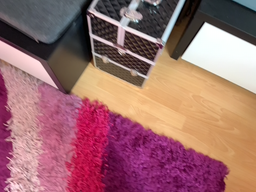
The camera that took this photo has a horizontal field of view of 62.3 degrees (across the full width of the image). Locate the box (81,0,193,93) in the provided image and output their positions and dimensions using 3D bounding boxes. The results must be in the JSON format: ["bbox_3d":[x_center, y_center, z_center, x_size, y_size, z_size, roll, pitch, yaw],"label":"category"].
[{"bbox_3d":[0.060,-0.310,0.850,0.280,0.370,0.430,25,72,2],"label":"box"}]
